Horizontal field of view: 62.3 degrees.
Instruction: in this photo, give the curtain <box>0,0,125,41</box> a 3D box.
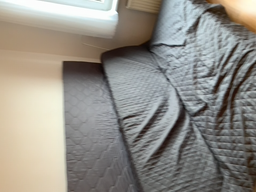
[{"bbox_3d":[-0.990,-0.920,2.310,0.250,1.900,0.290,-110,31,-42],"label":"curtain"}]
